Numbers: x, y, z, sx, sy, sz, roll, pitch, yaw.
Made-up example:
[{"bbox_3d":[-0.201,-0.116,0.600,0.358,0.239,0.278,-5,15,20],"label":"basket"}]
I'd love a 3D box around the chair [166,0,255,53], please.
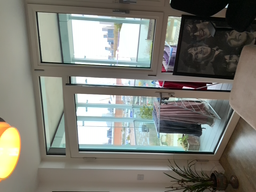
[{"bbox_3d":[0.960,-0.840,1.980,0.630,1.010,0.620,-93,7,-53],"label":"chair"}]

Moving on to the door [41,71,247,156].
[{"bbox_3d":[0.190,0.340,3.080,0.110,2.590,1.400,-93,7,-55],"label":"door"}]

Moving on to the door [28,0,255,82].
[{"bbox_3d":[0.290,-0.960,2.260,0.100,2.610,1.630,-95,8,-60],"label":"door"}]
